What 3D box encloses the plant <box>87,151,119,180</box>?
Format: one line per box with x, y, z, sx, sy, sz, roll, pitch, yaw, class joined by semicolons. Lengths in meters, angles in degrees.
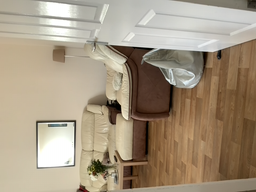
-0.420;1.120;3.460;0.330;0.470;0.290;-145;57;-73;plant

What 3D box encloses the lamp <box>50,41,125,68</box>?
-0.850;-0.870;4.530;0.300;1.500;0.390;110;156;-52;lamp
